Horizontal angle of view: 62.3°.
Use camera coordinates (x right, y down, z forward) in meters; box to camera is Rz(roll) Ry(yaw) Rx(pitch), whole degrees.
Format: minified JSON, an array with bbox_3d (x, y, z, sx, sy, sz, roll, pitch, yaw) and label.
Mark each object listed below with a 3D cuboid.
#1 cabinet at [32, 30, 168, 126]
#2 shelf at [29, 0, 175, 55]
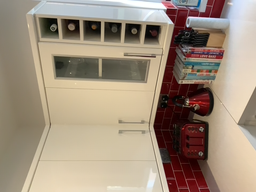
[{"bbox_3d":[-0.190,-0.120,1.550,0.360,0.800,0.550,-98,12,-56],"label":"cabinet"},{"bbox_3d":[-0.150,-0.450,1.360,0.310,0.800,0.210,-98,12,-56],"label":"shelf"}]
